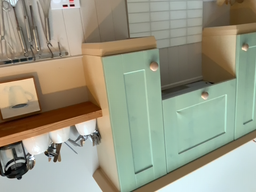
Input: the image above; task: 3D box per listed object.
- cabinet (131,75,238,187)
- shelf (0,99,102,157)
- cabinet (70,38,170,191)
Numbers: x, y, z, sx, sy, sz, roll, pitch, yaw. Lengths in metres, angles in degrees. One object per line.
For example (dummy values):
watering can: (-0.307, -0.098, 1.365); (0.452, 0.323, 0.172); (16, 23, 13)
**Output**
cabinet: (0.380, 0.180, 1.430); (0.580, 0.510, 0.350); (-14, -161, -27)
shelf: (-0.410, 0.140, 1.010); (0.530, 0.100, 0.180); (-14, -161, -27)
cabinet: (-0.030, 0.130, 1.180); (0.350, 0.840, 0.350); (-14, -161, -27)
